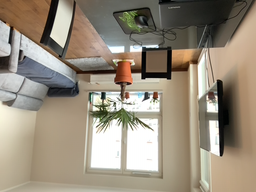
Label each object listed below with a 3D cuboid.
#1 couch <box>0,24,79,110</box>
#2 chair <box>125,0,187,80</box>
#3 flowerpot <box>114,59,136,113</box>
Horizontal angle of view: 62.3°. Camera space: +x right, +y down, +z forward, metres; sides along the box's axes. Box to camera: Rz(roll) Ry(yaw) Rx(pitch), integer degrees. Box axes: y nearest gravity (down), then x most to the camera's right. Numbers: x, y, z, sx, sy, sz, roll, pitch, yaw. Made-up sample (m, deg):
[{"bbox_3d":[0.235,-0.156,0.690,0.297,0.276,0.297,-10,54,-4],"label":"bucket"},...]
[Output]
[{"bbox_3d":[-1.920,-0.340,4.070,1.050,0.950,2.300,0,170,9],"label":"couch"},{"bbox_3d":[0.230,-0.670,1.870,0.440,0.930,0.580,1,170,4],"label":"chair"},{"bbox_3d":[-0.060,-0.190,4.340,0.390,1.010,0.440,2,170,-1],"label":"flowerpot"}]
